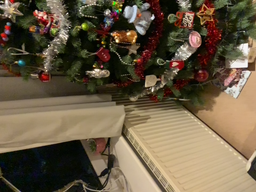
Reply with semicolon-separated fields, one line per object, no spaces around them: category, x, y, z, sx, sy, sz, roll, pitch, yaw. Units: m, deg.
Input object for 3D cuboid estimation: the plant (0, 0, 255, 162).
plant;-0.240;-0.440;1.190;1.020;1.680;0.920;47;130;43
